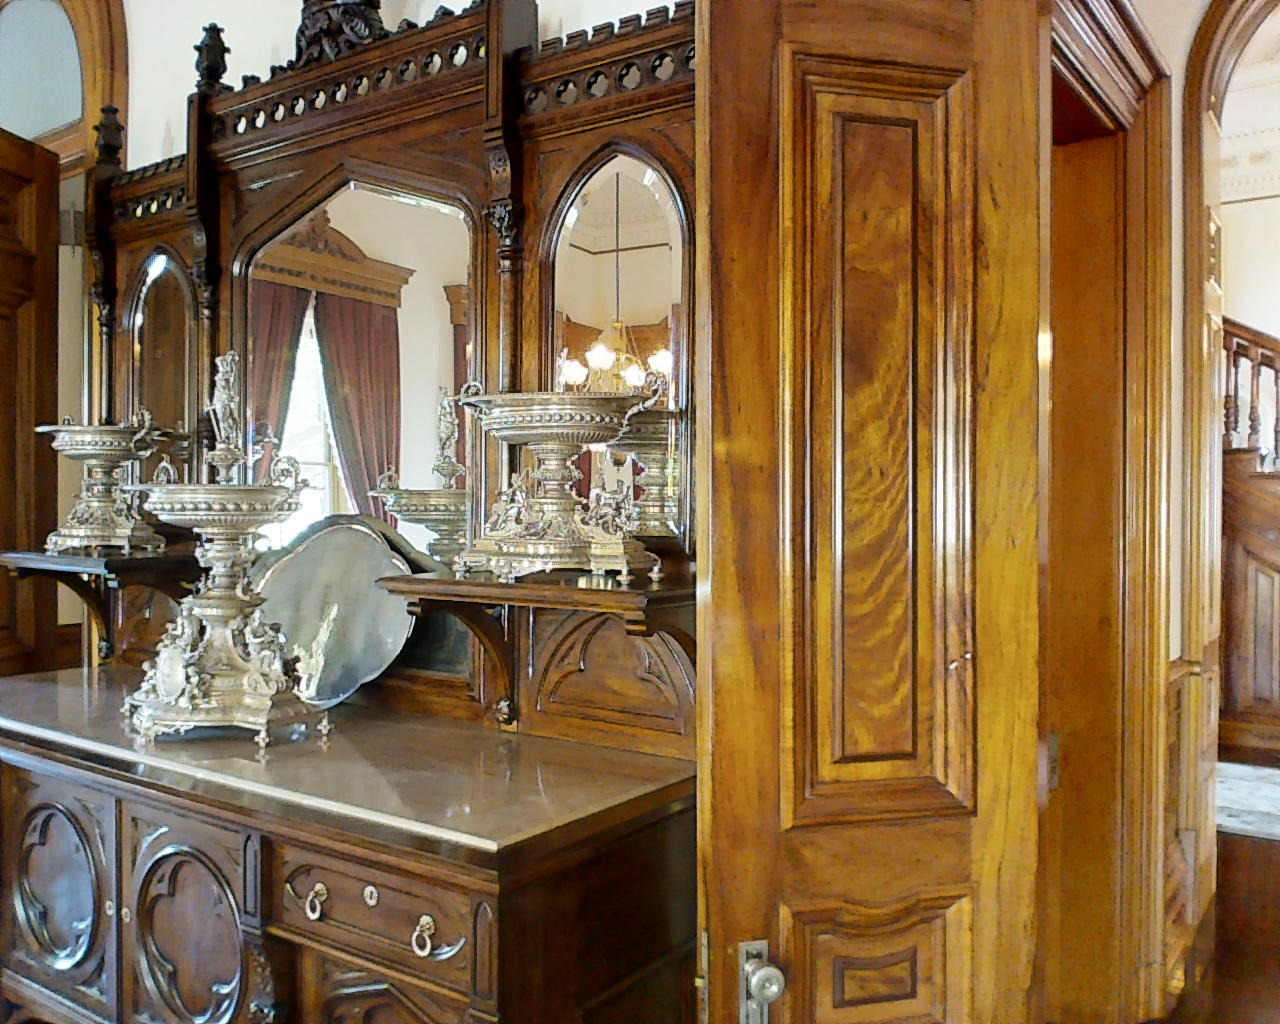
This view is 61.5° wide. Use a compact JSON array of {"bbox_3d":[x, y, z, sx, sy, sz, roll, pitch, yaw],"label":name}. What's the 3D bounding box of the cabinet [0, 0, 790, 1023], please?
[{"bbox_3d":[-0.970,0.010,2.560,2.540,3.000,0.770,1,0,35],"label":"cabinet"}]
